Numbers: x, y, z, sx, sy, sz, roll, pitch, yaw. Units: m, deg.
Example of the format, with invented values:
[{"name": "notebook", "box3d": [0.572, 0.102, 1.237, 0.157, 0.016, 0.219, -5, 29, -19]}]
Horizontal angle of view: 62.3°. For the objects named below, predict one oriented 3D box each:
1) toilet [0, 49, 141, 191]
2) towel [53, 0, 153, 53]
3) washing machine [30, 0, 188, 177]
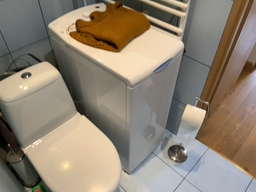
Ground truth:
[{"name": "toilet", "box3d": [-0.320, 0.280, 1.140, 0.370, 0.770, 0.650, -35, 56, -30]}, {"name": "towel", "box3d": [-0.130, -0.400, 1.110, 0.390, 0.070, 0.330, 33, 53, 27]}, {"name": "washing machine", "box3d": [-0.140, -0.060, 1.410, 0.410, 0.880, 0.770, -35, 56, -30]}]
